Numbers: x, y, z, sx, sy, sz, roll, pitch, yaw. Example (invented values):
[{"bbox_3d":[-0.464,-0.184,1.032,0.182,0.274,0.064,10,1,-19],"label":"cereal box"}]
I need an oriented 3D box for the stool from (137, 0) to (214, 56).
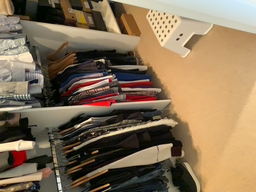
[{"bbox_3d":[0.320,-0.600,1.560,0.300,0.250,0.510,-50,51,47],"label":"stool"}]
